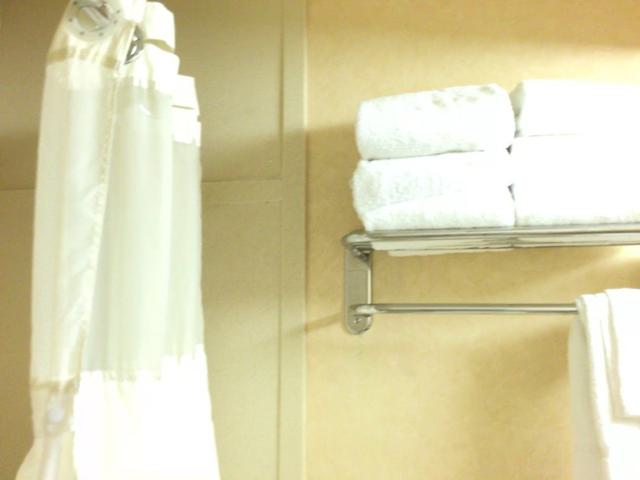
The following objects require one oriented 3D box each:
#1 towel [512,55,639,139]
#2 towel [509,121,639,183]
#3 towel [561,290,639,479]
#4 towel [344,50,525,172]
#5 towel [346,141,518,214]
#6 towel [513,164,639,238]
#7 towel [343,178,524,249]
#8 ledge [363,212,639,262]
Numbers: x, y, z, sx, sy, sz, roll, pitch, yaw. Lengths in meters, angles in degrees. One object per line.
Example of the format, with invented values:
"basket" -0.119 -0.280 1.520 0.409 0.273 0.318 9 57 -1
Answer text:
"towel" 0.450 -0.230 0.930 0.260 0.100 0.070 -1 -9 13
"towel" 0.440 -0.140 0.920 0.260 0.080 0.040 -1 -9 13
"towel" 0.500 0.260 0.920 0.180 0.350 0.130 -1 -9 13
"towel" 0.190 -0.210 0.980 0.280 0.150 0.120 -1 -9 13
"towel" 0.180 -0.100 0.950 0.270 0.100 0.040 -1 -9 13
"towel" 0.470 -0.060 0.890 0.320 0.100 0.060 -1 -9 13
"towel" 0.180 -0.040 0.940 0.280 0.100 0.050 -1 -9 13
"ledge" 0.370 0.000 1.000 0.560 0.040 0.240 -1 -9 13
